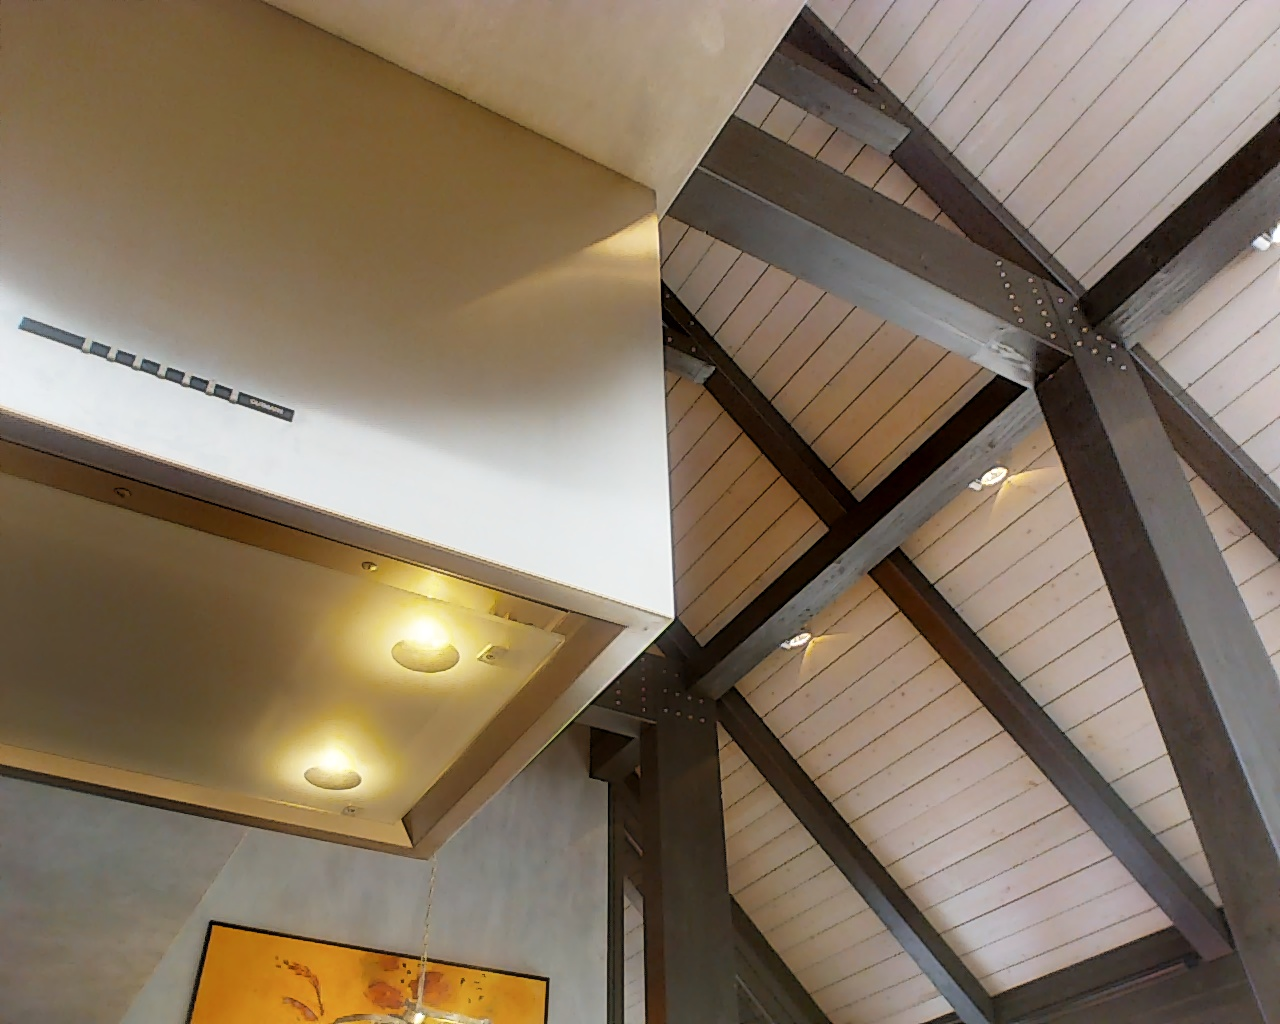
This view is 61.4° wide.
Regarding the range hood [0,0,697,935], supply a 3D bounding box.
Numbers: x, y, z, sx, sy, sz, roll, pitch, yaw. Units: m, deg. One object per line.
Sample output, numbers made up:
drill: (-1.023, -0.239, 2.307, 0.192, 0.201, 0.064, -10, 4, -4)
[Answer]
range hood: (-0.510, -0.100, 1.150, 0.690, 1.000, 0.680, 19, 46, -22)
